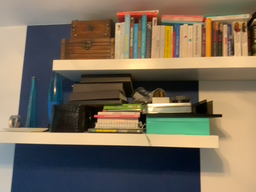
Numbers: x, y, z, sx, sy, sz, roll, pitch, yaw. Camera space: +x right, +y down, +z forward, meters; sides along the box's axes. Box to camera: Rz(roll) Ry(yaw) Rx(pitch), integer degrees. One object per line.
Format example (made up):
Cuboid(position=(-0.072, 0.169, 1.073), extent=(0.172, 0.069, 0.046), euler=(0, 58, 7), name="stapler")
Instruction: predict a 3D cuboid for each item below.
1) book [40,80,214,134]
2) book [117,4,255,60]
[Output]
Cuboid(position=(-0.010, 0.060, 1.070), extent=(0.780, 0.230, 0.230), euler=(0, -9, 8), name="book")
Cuboid(position=(0.350, -0.310, 1.050), extent=(0.790, 0.240, 0.100), euler=(1, -9, 5), name="book")
